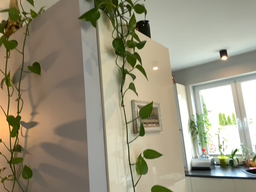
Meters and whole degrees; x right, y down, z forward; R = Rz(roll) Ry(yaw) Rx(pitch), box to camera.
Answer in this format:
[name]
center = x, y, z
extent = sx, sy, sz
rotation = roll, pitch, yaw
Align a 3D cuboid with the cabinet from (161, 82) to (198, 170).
[cabinet]
center = 0.910, 0.520, 3.780
extent = 0.330, 1.460, 0.410
rotation = -12, -11, 36
